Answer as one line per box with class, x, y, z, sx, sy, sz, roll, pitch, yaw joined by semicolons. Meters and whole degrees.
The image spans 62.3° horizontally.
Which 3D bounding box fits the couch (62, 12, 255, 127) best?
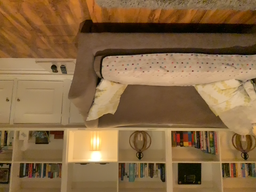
couch;0.420;-0.140;2.140;1.830;0.860;1.030;1;170;-2
